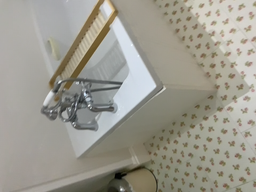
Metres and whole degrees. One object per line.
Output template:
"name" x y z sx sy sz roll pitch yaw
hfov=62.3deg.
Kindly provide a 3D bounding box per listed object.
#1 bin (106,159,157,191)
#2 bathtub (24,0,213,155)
"bin" 0.030 0.570 1.450 0.110 0.310 0.180 -46 60 33
"bathtub" -0.240 -0.530 1.540 0.680 0.550 1.640 -44 61 34
